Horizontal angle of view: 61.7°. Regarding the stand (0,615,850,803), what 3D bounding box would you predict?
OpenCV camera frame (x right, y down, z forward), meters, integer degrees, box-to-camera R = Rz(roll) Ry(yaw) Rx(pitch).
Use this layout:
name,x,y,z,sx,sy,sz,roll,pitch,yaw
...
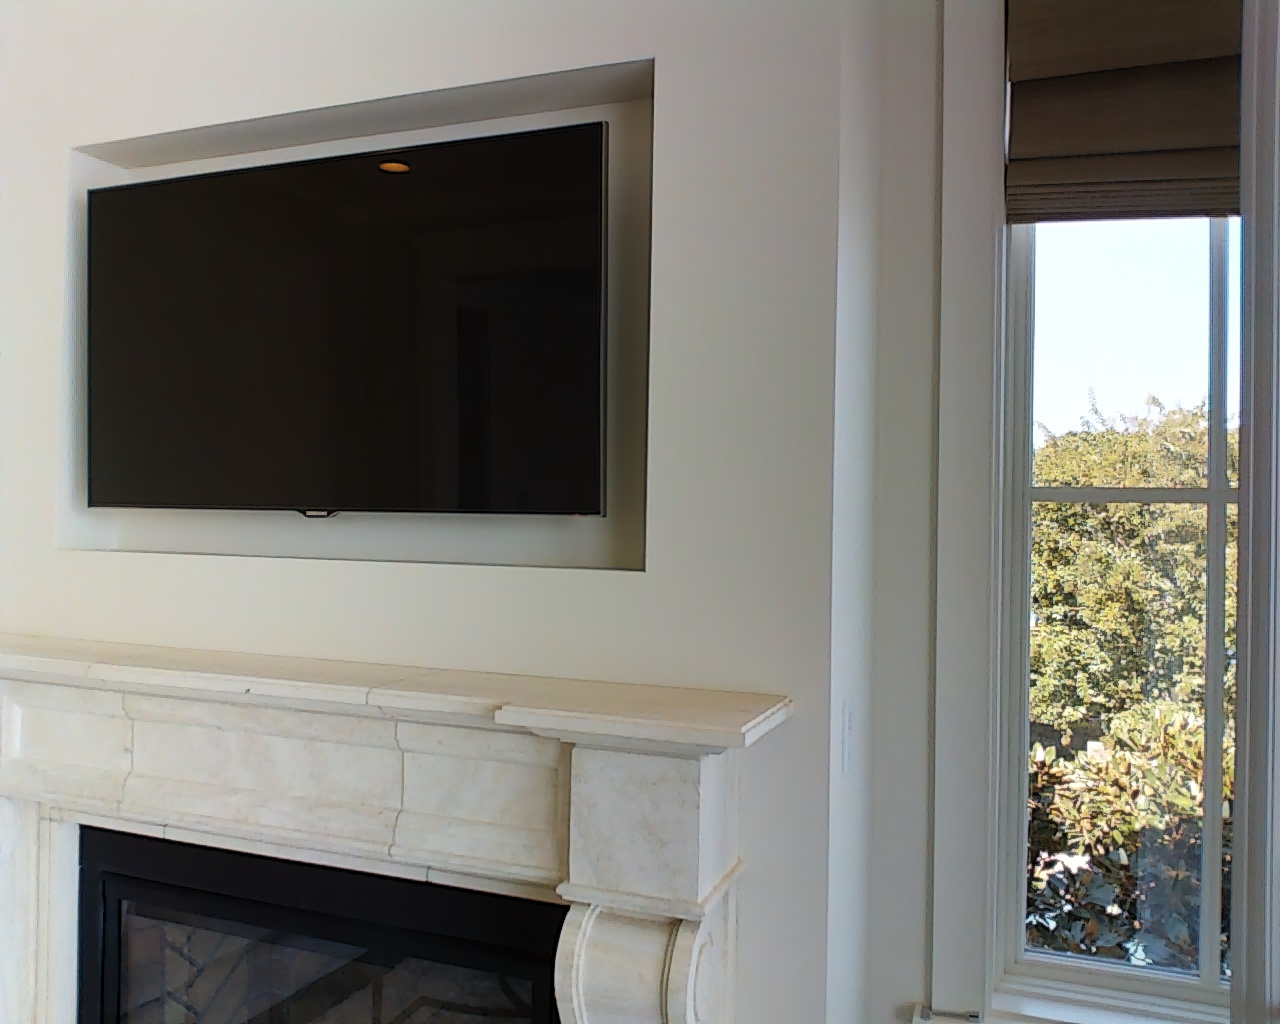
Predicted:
name,x,y,z,sx,sy,sz,roll,pitch,yaw
stand,-0.550,0.270,1.690,1.709,0.100,0.270,1,-1,23

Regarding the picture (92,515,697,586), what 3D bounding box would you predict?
name,x,y,z,sx,sy,sz,roll,pitch,yaw
picture,-0.480,0.060,1.890,1.180,0.080,0.140,1,-1,23

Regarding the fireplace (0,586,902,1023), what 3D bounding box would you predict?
name,x,y,z,sx,sy,sz,roll,pitch,yaw
fireplace,-0.490,0.840,1.840,1.719,1.321,0.610,1,-1,23
